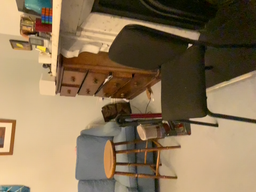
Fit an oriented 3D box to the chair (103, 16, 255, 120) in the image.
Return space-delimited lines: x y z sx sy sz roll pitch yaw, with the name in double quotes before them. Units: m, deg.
"chair" 0.330 -0.100 1.360 0.440 0.890 0.480 158 113 -68
